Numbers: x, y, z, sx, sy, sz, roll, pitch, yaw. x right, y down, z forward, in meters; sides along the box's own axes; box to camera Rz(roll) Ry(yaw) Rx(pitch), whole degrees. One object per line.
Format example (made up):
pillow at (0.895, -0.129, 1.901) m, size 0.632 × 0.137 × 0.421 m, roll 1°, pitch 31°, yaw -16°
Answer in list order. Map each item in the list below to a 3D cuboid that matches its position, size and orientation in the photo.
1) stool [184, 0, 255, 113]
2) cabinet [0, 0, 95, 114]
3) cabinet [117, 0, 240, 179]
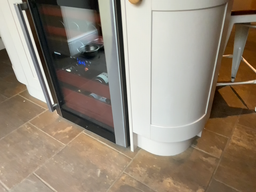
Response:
stool at (0.650, -0.280, 1.420) m, size 0.370 × 0.660 × 0.410 m, roll -2°, pitch 35°, yaw 0°
cabinet at (-0.600, -0.400, 1.480) m, size 0.490 × 0.870 × 0.400 m, roll 22°, pitch 42°, yaw 30°
cabinet at (0.220, -0.090, 1.000) m, size 0.330 × 0.870 × 0.380 m, roll 22°, pitch 42°, yaw 30°
